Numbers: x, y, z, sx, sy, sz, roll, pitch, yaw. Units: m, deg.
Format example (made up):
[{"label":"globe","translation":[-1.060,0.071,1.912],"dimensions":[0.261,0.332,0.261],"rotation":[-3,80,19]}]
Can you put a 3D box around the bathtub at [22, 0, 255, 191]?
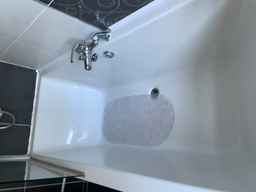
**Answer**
[{"label":"bathtub","translation":[0.030,0.100,1.240],"dimensions":[1.660,0.610,0.740],"rotation":[-10,73,45]}]
